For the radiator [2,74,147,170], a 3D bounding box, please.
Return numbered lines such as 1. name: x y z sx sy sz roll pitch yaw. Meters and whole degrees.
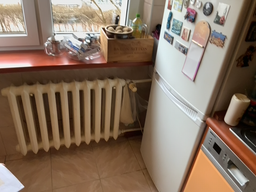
1. radiator: -0.360 0.190 1.640 0.940 0.670 0.160 -6 34 -19
